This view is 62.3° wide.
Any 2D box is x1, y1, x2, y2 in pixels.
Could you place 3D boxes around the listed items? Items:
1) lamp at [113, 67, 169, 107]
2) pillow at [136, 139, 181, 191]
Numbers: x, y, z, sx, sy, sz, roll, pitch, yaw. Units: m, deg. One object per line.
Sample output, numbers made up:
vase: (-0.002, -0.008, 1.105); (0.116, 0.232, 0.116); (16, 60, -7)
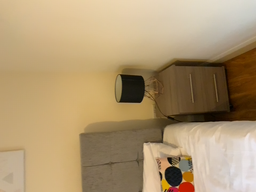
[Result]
lamp: (0.100, -0.070, 1.900); (0.320, 0.390, 0.280); (148, 119, -71)
pillow: (0.250, 0.700, 1.700); (0.180, 0.340, 0.680); (-7, 80, 45)
